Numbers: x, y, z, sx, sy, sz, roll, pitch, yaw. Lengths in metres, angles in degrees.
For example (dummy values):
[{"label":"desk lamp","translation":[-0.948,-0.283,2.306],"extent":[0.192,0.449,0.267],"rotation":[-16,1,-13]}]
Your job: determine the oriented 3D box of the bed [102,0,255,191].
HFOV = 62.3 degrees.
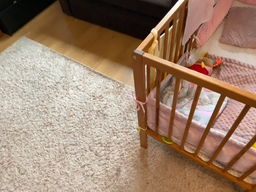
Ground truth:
[{"label":"bed","translation":[0.640,-0.190,1.280],"extent":[0.730,0.960,1.390],"rotation":[28,62,22]}]
